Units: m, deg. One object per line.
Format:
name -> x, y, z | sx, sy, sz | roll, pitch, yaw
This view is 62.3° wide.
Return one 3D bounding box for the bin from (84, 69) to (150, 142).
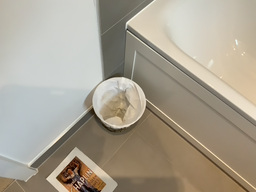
bin -> -0.060, 0.060, 1.130 | 0.220, 0.260, 0.230 | 41, 69, 13
